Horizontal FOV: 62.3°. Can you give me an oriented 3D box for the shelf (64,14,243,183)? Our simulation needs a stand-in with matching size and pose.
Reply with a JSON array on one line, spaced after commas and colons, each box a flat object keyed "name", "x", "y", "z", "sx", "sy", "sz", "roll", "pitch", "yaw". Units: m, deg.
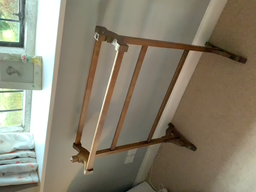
[{"name": "shelf", "x": 0.140, "y": 0.030, "z": 1.330, "sx": 0.280, "sy": 0.900, "sz": 0.850, "roll": 48, "pitch": 131, "yaw": 42}]
